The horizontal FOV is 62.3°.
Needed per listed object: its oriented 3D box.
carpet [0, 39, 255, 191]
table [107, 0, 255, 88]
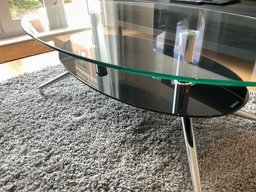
[{"bbox_3d":[0.010,0.100,0.870,1.230,0.070,1.760,-24,37,-32],"label":"carpet"},{"bbox_3d":[0.500,-0.570,1.660,0.580,0.390,1.490,-24,37,-32],"label":"table"}]
